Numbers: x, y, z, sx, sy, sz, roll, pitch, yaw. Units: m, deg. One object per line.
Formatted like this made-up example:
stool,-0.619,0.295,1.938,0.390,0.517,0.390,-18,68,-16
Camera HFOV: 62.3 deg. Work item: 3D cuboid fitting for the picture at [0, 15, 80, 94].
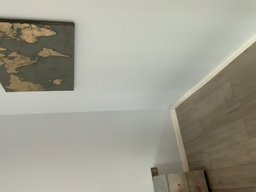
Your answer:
picture,-0.730,-0.240,1.630,0.960,0.650,0.040,121,144,-61
